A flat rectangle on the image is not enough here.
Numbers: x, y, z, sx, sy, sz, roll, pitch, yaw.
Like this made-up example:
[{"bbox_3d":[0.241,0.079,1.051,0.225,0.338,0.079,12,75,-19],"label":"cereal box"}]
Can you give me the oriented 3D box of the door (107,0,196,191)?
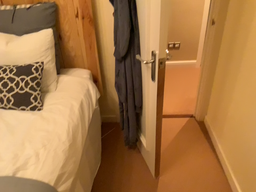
[{"bbox_3d":[0.070,-0.340,1.330,0.140,1.940,0.860,-13,35,-15],"label":"door"}]
